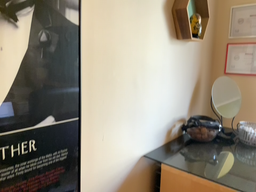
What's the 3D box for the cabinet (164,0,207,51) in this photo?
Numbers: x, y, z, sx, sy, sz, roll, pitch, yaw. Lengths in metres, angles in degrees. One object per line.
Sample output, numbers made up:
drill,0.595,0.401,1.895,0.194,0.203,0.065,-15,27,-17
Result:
cabinet,0.340,-0.450,1.200,0.080,0.360,0.430,8,11,33
